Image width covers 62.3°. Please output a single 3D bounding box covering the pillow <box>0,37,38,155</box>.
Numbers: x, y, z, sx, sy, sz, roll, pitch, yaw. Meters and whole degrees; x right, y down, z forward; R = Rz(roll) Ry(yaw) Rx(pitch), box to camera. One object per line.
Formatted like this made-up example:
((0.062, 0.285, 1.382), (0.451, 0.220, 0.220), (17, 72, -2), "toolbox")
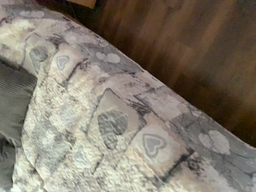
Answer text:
((-0.800, 0.000, 1.260), (0.440, 0.220, 0.560), (44, 120, 29), "pillow")
